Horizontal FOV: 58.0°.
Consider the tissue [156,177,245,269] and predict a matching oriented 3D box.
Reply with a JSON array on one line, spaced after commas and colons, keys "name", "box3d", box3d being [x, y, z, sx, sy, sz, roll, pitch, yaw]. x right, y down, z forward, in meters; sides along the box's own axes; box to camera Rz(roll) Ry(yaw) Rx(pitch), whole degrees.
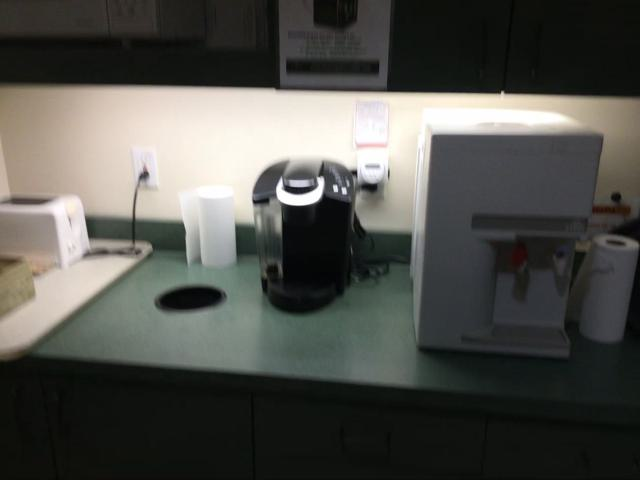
[{"name": "tissue", "box3d": [-0.320, -0.050, 1.580, 0.200, 0.210, 0.120, 5, 20, 8]}]

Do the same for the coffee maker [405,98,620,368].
[{"name": "coffee maker", "box3d": [0.370, -0.050, 1.260, 0.320, 0.450, 0.430, 5, 20, 8]}]

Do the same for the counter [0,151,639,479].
[{"name": "counter", "box3d": [0.340, 0.160, 1.270, 2.640, 0.430, 0.680, 5, 20, 8]}]
